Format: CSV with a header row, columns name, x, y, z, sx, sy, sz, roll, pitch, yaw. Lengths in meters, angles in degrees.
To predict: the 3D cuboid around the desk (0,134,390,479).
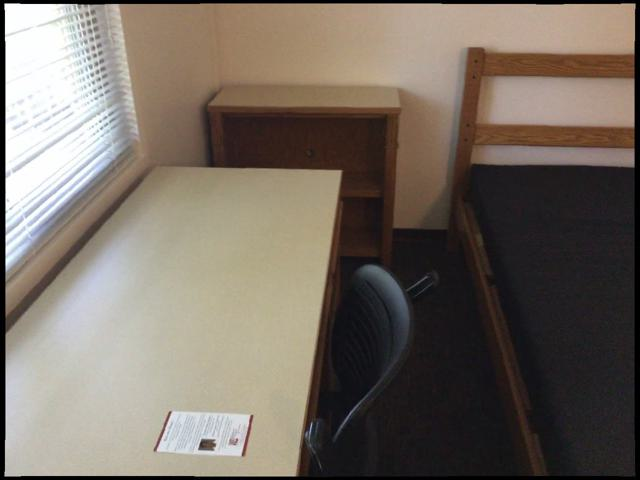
name,x,y,z,sx,sy,sz,roll,pitch,yaw
desk,-0.230,0.381,1.360,0.699,0.821,1.261,4,31,6
